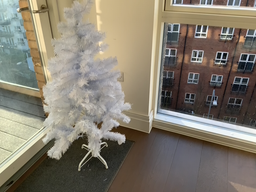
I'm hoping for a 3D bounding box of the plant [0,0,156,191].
[{"bbox_3d":[-0.270,-0.040,1.370,0.610,1.060,0.730,14,33,22],"label":"plant"}]
